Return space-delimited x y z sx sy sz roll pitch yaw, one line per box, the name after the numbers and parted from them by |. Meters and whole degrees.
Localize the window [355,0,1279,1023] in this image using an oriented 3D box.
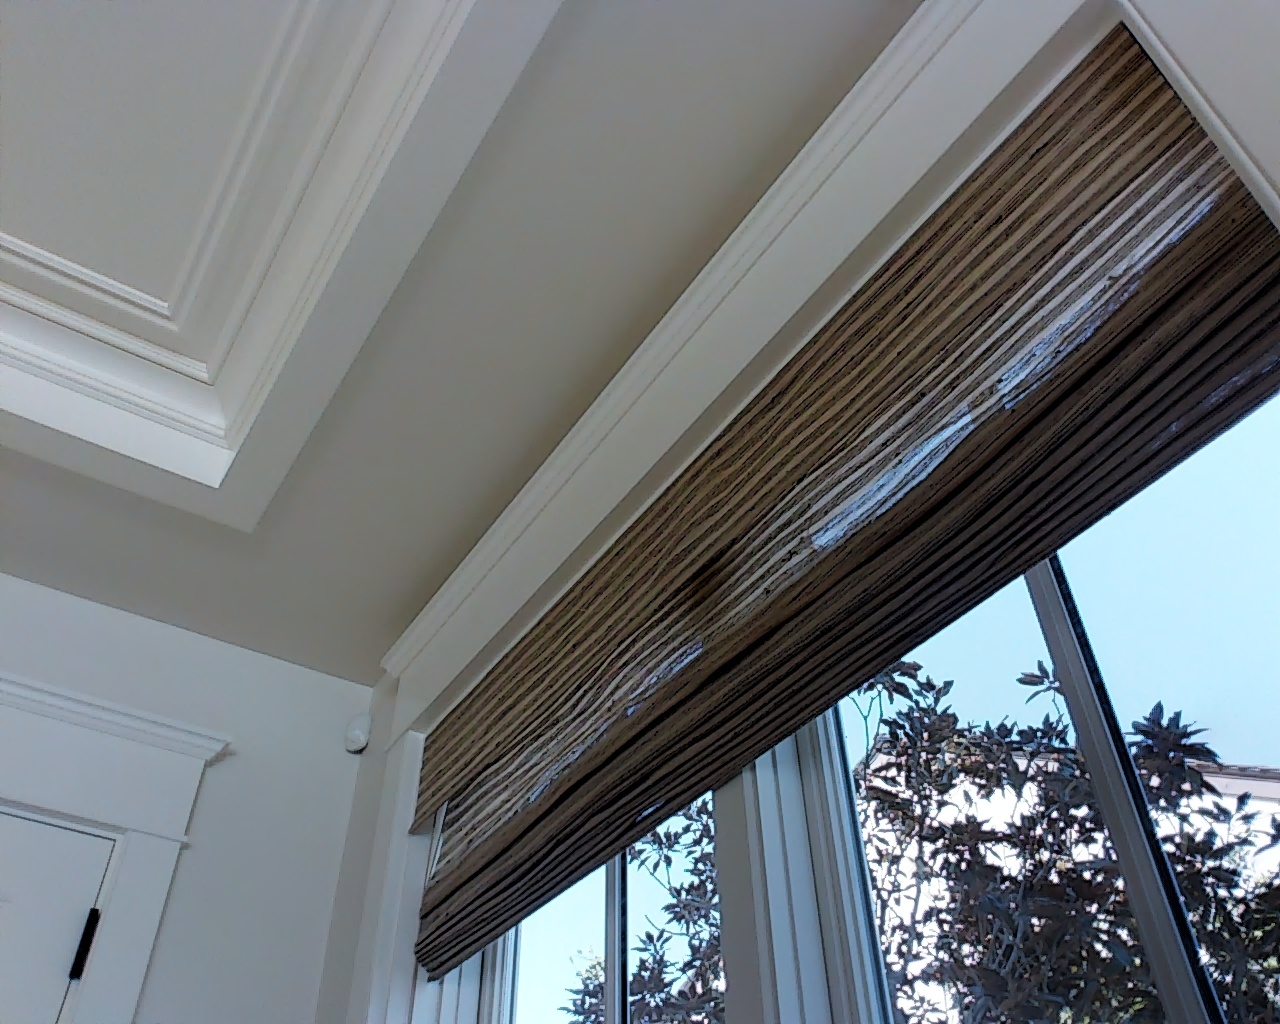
0.130 0.670 0.820 0.270 1.911 1.590 23 -47 -24 | window
